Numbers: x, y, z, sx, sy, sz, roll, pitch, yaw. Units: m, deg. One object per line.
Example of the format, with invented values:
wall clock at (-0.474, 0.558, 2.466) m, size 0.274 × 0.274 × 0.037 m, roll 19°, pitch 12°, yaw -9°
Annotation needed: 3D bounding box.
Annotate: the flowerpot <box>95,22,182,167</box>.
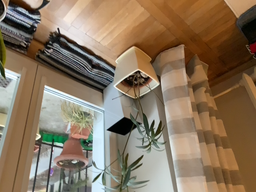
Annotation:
flowerpot at (0.020, -0.020, 1.280) m, size 0.290 × 0.760 × 0.330 m, roll 25°, pitch 135°, yaw -37°
